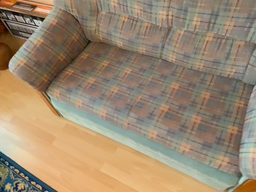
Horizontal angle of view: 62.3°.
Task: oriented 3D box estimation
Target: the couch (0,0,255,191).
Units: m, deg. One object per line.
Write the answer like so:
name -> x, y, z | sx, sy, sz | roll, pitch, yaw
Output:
couch -> 0.170, -0.210, 1.320 | 1.690, 0.870, 0.940 | 20, 61, 21
